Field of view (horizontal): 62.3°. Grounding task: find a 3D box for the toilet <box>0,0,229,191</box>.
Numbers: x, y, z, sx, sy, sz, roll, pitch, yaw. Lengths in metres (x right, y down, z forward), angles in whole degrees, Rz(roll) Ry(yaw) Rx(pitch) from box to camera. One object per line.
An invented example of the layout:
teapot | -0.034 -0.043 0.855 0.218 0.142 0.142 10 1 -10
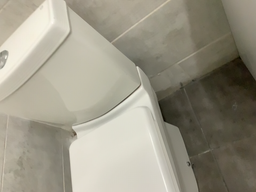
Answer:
toilet | -0.020 0.200 0.710 0.390 0.810 0.670 -30 55 24
